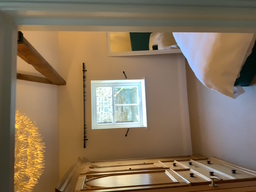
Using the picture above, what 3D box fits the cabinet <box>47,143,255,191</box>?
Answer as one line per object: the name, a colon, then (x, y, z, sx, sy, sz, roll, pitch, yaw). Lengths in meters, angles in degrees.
cabinet: (0.340, 1.110, 2.690, 2.420, 2.170, 0.610, 141, 127, -81)
